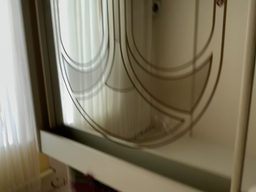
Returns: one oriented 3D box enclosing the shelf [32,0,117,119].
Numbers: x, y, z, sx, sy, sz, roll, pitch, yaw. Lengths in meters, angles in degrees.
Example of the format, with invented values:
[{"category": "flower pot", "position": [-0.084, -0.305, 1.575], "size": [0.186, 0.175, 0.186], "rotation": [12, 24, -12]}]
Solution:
[{"category": "shelf", "position": [-0.370, -0.910, 1.310], "size": [0.450, 2.040, 0.300], "rotation": [9, -163, 36]}]
